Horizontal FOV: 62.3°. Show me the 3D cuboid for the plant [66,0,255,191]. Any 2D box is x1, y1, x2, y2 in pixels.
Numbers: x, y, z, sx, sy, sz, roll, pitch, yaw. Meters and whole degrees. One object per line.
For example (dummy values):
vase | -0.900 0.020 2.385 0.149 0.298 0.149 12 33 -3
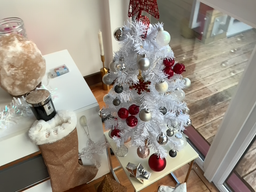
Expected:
plant | 0.080 -0.050 0.780 0.380 0.630 0.530 -20 47 -19
